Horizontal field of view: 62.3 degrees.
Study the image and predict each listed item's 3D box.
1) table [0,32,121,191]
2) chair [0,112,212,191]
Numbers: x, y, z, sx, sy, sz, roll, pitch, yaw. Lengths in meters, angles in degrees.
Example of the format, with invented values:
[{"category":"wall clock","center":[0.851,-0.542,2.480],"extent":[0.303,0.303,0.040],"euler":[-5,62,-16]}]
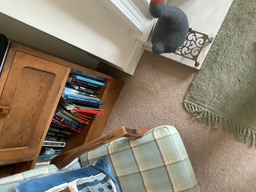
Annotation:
[{"category":"table","center":[-0.560,0.380,1.150],"extent":[0.270,0.750,1.250],"euler":[27,97,24]},{"category":"chair","center":[-0.090,0.440,0.940],"extent":[0.760,0.730,0.530],"euler":[-20,77,22]}]
